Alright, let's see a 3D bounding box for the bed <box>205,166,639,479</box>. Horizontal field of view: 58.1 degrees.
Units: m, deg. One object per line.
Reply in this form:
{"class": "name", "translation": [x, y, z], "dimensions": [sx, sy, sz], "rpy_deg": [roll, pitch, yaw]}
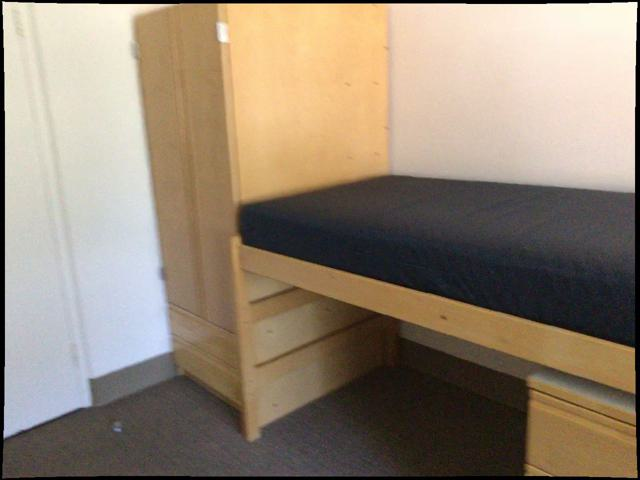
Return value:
{"class": "bed", "translation": [0.738, 0.431, 1.990], "dimensions": [1.128, 1.123, 2.258], "rpy_deg": [-16, 18, -39]}

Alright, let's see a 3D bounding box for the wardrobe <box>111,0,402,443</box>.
{"class": "wardrobe", "translation": [-0.269, -0.190, 2.970], "dimensions": [0.989, 1.925, 0.869], "rpy_deg": [-16, 18, -39]}

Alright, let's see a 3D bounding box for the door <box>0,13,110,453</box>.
{"class": "door", "translation": [-1.566, 0.040, 2.500], "dimensions": [0.969, 1.925, 0.120], "rpy_deg": [-16, 18, -39]}
